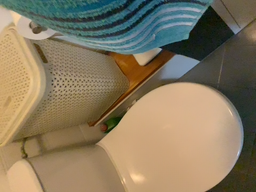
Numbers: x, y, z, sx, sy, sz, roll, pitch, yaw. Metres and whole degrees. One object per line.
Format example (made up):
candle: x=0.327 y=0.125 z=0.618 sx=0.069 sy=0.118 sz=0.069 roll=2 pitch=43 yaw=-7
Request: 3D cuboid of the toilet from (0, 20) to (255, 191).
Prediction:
toilet: x=0.090 y=0.200 z=0.820 sx=0.690 sy=0.820 sz=0.370 roll=-41 pitch=70 yaw=29
